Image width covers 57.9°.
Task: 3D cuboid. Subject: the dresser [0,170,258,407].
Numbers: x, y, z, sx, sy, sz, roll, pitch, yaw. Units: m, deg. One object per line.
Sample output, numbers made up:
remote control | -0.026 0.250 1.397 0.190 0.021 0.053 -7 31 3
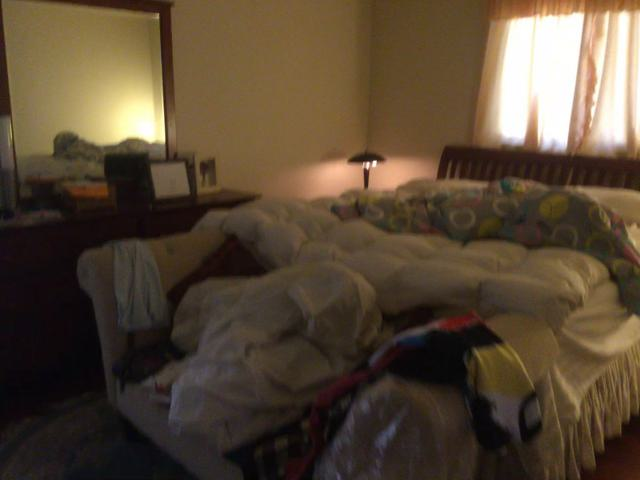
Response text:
dresser | -1.140 0.150 3.180 0.530 0.930 1.640 12 17 42
